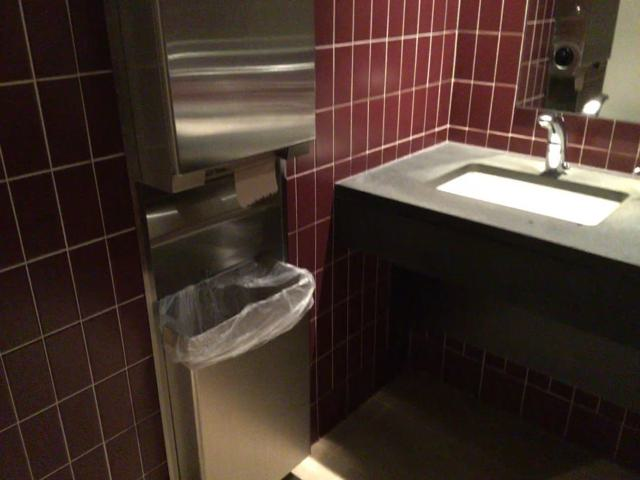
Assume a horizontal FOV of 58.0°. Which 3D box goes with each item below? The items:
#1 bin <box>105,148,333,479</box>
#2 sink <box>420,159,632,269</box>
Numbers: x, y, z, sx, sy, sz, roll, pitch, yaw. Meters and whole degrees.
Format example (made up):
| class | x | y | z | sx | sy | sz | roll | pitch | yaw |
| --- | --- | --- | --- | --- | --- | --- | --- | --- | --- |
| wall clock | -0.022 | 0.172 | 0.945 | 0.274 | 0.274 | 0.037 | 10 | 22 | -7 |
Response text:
| class | x | y | z | sx | sy | sz | roll | pitch | yaw |
| --- | --- | --- | --- | --- | --- | --- | --- | --- | --- |
| bin | -0.210 | 0.250 | 1.480 | 0.250 | 0.860 | 0.450 | 19 | 31 | 38 |
| sink | 0.550 | -0.090 | 1.570 | 0.450 | 0.120 | 0.300 | 19 | 30 | 37 |
